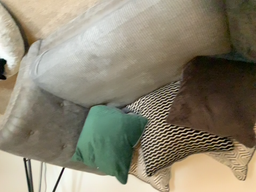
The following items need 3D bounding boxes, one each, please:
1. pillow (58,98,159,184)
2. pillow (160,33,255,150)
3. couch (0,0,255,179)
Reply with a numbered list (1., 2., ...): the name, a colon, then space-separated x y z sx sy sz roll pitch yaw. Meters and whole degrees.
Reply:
1. pillow: -0.110 0.260 1.350 0.490 0.440 0.230 0 151 29
2. pillow: 0.430 -0.020 1.080 0.400 0.450 0.200 -19 146 15
3. couch: 0.150 -0.100 1.370 1.670 0.730 1.120 -24 145 21
